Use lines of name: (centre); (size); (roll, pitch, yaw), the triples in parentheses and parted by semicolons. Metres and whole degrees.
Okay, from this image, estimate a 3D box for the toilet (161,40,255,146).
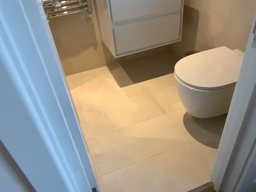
toilet: (0.560, -0.040, 1.430); (0.540, 0.430, 0.400); (-17, 40, -13)
